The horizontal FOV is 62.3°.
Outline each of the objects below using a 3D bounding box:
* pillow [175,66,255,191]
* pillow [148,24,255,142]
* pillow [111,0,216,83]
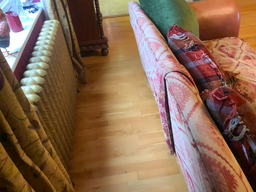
[{"bbox_3d":[0.540,0.330,1.070,0.400,0.820,0.460,-7,42,-3],"label":"pillow"},{"bbox_3d":[0.430,-0.110,1.280,0.500,0.370,0.590,-7,42,-4],"label":"pillow"},{"bbox_3d":[0.320,-0.620,1.720,0.550,0.600,0.730,21,47,25],"label":"pillow"}]
